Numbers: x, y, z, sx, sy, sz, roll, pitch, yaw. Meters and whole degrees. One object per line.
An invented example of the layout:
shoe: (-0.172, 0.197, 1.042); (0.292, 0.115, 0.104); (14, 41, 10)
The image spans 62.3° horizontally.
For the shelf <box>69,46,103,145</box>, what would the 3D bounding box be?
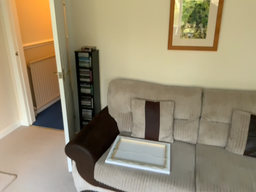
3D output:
shelf: (-0.480, 0.010, 2.530); (0.280, 1.160, 0.200); (7, 23, 15)
